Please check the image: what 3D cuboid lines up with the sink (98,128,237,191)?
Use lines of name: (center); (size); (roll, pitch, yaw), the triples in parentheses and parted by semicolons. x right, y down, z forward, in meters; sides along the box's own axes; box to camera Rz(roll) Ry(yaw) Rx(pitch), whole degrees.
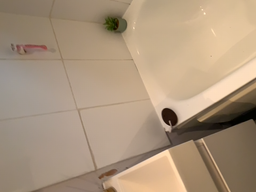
sink: (0.140, 0.420, 0.590); (0.420, 0.130, 0.520); (-44, 62, 46)
